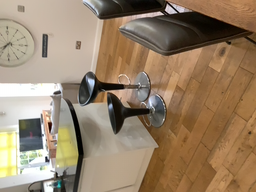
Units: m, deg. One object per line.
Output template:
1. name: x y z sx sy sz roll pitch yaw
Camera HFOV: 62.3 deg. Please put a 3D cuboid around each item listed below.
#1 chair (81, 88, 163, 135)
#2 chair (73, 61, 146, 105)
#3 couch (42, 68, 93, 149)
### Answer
1. chair: -0.070 0.160 2.340 0.370 0.770 0.360 -44 54 54
2. chair: -0.230 -0.150 2.620 0.390 0.770 0.410 -26 69 59
3. couch: -1.450 0.210 4.850 1.220 0.780 1.380 42 128 53
